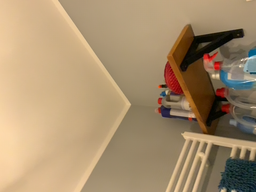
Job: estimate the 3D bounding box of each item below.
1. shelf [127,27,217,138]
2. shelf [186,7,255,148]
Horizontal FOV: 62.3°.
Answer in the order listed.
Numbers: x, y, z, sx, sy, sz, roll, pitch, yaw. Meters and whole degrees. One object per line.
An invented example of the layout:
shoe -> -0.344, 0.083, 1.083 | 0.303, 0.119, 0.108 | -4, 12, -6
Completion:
shelf -> 0.270, -0.030, 1.130 | 0.660, 0.210, 0.160 | 52, -125, -38
shelf -> 0.510, -0.030, 0.900 | 0.610, 0.280, 0.230 | 52, -125, -37
